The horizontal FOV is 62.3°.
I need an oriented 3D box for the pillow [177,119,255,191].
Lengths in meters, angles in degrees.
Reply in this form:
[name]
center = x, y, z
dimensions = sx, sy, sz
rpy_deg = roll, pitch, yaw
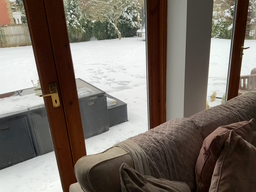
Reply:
[pillow]
center = 0.550, 0.370, 1.060
dimensions = 0.480, 0.500, 0.130
rpy_deg = 10, 28, -37
